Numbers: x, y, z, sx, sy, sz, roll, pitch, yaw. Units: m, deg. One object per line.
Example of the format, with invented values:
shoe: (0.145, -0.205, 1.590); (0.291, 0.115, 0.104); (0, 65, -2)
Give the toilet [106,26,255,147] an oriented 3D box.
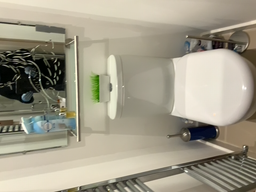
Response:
toilet: (0.380, -0.060, 1.150); (0.630, 0.810, 0.390); (6, 98, 62)
